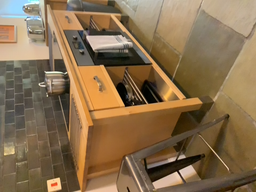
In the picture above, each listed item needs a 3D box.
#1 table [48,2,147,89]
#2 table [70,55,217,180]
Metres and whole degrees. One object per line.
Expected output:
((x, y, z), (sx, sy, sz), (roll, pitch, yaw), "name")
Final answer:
((-0.380, -0.580, 2.410), (0.600, 0.880, 0.690), (-121, 33, -42), "table")
((0.050, 0.130, 1.660), (0.510, 0.880, 0.690), (-121, 33, -42), "table")
